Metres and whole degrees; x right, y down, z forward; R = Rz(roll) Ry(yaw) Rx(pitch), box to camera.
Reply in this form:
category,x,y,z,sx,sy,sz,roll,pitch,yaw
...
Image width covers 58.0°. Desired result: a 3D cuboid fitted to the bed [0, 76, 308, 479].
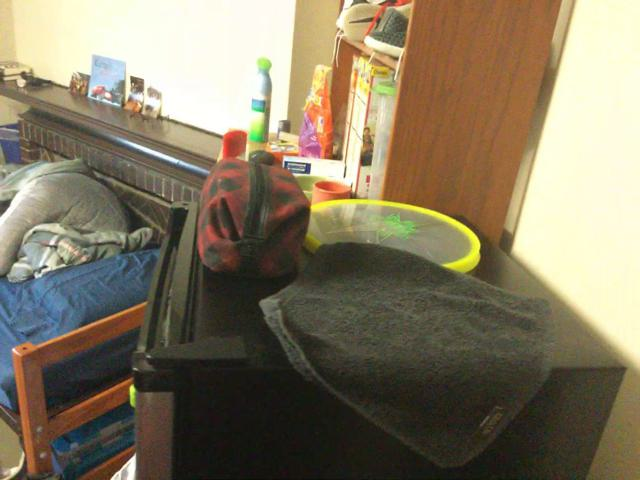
category,x,y,z,sx,sy,sz,roll,pitch,yaw
bed,-1.360,0.110,2.570,2.250,1.240,1.100,22,25,30
